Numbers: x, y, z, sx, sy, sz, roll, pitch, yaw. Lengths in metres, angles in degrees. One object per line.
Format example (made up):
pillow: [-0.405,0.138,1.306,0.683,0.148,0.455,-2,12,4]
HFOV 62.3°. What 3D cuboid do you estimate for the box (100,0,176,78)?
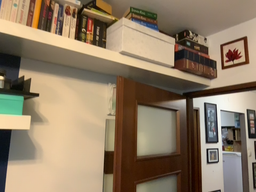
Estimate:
box: [0.070,-0.300,1.240,0.250,0.290,0.380,-7,-12,43]

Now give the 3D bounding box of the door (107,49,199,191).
door: [0.210,0.860,1.310,0.100,2.130,0.860,-7,-12,42]
